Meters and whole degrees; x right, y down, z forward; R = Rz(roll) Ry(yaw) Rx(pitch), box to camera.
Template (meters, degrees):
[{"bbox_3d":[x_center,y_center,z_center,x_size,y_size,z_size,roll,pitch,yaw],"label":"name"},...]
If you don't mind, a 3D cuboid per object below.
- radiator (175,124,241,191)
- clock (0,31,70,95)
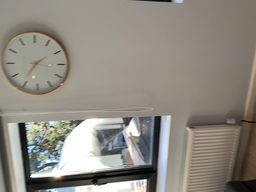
[{"bbox_3d":[0.740,0.890,2.090,0.170,0.500,1.220,-126,36,-71],"label":"radiator"},{"bbox_3d":[-0.650,-0.230,1.510,0.040,0.440,0.430,-126,36,-71],"label":"clock"}]
